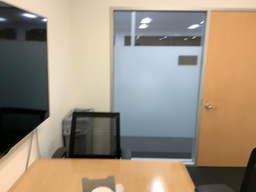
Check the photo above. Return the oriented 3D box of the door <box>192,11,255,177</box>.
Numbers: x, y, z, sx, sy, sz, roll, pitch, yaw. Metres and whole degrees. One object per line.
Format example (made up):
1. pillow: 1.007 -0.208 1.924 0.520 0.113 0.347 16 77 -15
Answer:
1. door: 1.470 0.050 2.870 0.980 2.220 0.120 1 12 0
